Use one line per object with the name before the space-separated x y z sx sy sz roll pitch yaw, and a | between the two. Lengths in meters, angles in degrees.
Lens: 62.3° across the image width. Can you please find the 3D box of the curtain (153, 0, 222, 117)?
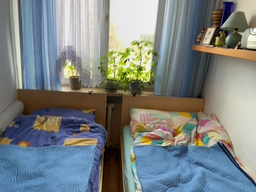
curtain | 0.660 -0.720 2.310 0.550 1.940 0.190 3 16 -7

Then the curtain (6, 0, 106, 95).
curtain | -0.690 -0.880 2.150 0.920 1.720 0.230 2 16 -9

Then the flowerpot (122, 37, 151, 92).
flowerpot | 0.090 -0.370 2.520 0.270 0.620 0.170 2 16 -9

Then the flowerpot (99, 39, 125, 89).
flowerpot | -0.190 -0.370 2.490 0.260 0.560 0.150 1 16 -11
